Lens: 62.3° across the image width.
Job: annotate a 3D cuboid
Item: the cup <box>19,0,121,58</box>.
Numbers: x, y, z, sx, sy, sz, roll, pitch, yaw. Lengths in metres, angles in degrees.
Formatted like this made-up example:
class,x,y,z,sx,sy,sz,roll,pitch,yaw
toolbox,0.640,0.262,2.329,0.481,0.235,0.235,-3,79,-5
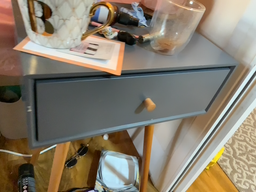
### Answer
class,x,y,z,sx,sy,sz,roll,pitch,yaw
cup,-0.100,-0.130,0.330,0.120,0.070,0.150,-5,43,-26

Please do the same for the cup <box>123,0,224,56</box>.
class,x,y,z,sx,sy,sz,roll,pitch,yaw
cup,0.080,-0.150,0.420,0.120,0.070,0.150,-6,44,-27
